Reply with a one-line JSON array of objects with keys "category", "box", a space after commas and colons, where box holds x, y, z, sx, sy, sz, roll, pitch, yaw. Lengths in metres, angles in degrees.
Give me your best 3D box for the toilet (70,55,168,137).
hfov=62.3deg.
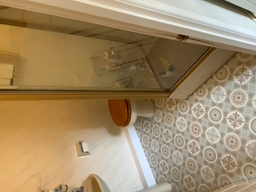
[{"category": "toilet", "box": [-0.130, 0.000, 2.380, 0.530, 0.790, 0.640, -54, 47, 41]}]
